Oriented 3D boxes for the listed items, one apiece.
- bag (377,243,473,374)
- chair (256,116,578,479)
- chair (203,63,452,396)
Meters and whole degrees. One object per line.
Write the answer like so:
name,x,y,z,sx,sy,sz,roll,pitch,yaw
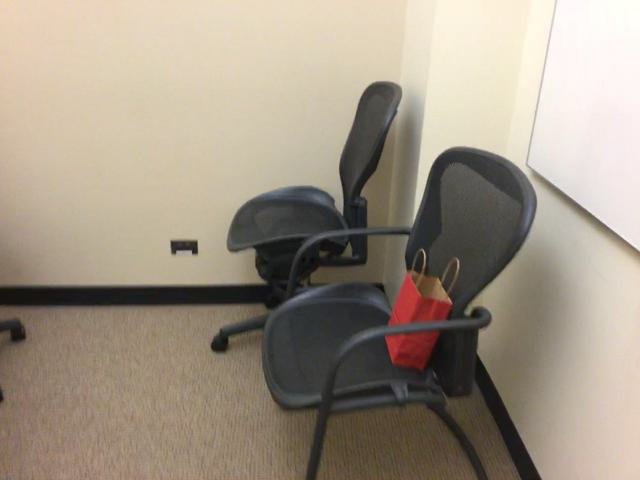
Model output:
bag,0.270,0.180,1.550,0.170,0.290,0.190,0,25,-8
chair,0.140,0.230,1.640,0.610,0.980,0.720,0,25,-8
chair,-0.040,-0.060,2.200,0.730,1.060,0.670,0,25,-8
